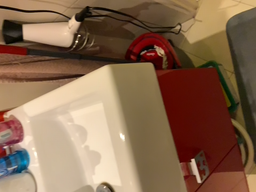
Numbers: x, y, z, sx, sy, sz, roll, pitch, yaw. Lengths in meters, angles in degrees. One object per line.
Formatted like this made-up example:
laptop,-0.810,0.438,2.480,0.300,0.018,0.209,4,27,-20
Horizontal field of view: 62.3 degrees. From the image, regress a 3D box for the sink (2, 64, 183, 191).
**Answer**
sink,-0.090,0.280,0.530,0.450,0.140,0.600,-16,87,39
